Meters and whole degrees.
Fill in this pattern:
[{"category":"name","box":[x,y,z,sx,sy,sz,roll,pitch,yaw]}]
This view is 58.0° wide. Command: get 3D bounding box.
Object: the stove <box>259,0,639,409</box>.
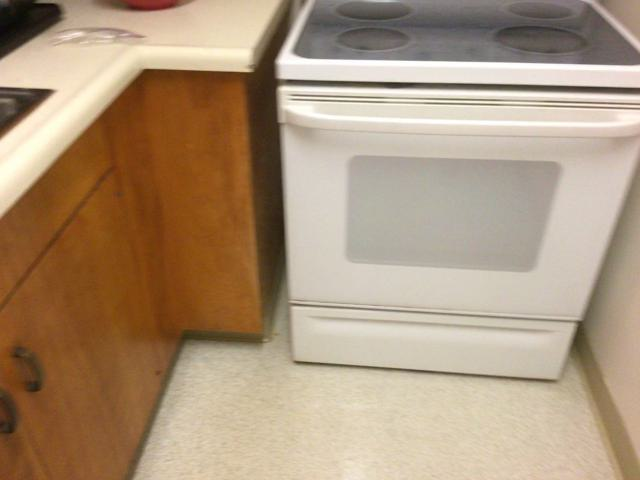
[{"category":"stove","box":[0.340,-0.260,1.570,0.850,1.160,0.790,2,36,3]}]
